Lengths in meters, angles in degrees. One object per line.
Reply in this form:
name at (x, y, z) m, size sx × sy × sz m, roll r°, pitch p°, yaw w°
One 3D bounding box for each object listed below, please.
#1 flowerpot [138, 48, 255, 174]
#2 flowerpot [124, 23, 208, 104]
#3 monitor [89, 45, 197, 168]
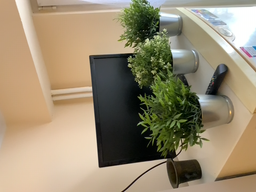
flowerpot at (0.150, 0.040, 0.590) m, size 0.220 × 0.190 × 0.250 m, roll -104°, pitch 12°, yaw -46°
flowerpot at (0.110, -0.120, 0.750) m, size 0.190 × 0.220 × 0.200 m, roll -105°, pitch 13°, yaw -48°
monitor at (0.040, 0.020, 0.840) m, size 0.060 × 0.350 × 0.460 m, roll 106°, pitch 157°, yaw -67°
